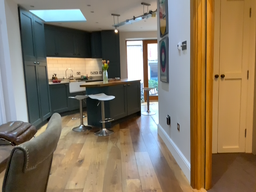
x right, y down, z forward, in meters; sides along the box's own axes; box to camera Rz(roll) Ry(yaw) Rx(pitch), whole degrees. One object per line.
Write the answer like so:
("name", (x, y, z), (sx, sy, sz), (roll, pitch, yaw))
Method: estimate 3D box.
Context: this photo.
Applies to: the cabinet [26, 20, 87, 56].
("cabinet", (-1.860, -1.510, 5.800), (0.320, 0.780, 1.670), (4, 10, 35))
